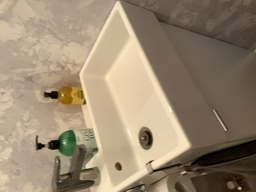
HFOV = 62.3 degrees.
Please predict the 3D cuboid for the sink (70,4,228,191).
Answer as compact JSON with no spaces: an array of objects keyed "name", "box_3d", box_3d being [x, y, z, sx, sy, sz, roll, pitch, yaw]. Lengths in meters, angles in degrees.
[{"name":"sink","box_3d":[-0.010,0.040,0.620,0.400,0.120,0.400,-51,50,40]}]
